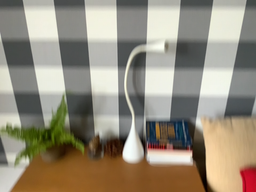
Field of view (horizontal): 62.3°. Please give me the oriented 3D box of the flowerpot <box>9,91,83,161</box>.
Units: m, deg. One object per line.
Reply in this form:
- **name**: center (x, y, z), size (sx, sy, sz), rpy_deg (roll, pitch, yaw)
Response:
- **flowerpot**: center (-0.370, 0.140, 1.010), size (0.250, 0.290, 0.160), rpy_deg (1, 23, 1)
